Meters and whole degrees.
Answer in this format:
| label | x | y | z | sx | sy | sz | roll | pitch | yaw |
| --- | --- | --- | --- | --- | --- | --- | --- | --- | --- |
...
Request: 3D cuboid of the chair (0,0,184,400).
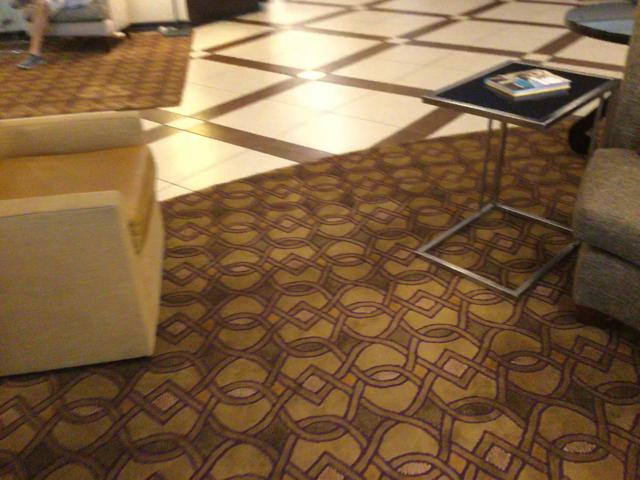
| label | x | y | z | sx | sy | sz | roll | pitch | yaw |
| --- | --- | --- | --- | --- | --- | --- | --- | --- | --- |
| chair | -1.010 | -0.220 | 1.900 | 0.920 | 1.110 | 0.920 | -5 | 29 | -7 |
